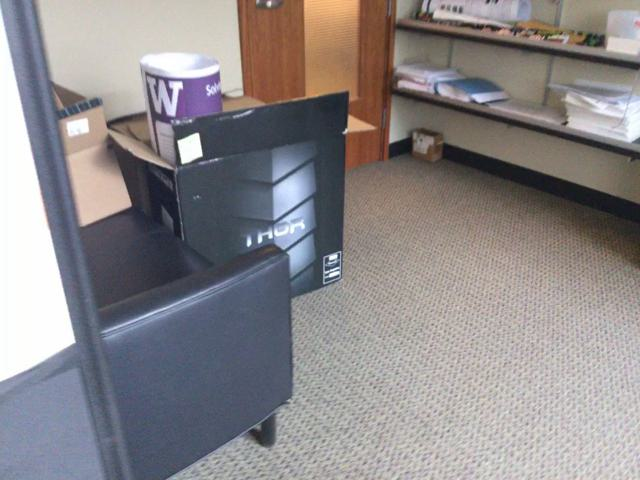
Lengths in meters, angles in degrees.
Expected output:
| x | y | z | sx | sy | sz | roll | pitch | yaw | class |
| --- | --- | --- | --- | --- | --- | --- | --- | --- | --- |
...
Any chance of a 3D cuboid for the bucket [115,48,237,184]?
| x | y | z | sx | sy | sz | roll | pitch | yaw | class |
| --- | --- | --- | --- | --- | --- | --- | --- | --- | --- |
| -0.460 | -0.410 | 1.850 | 0.240 | 0.320 | 0.330 | -18 | 34 | -29 | bucket |
